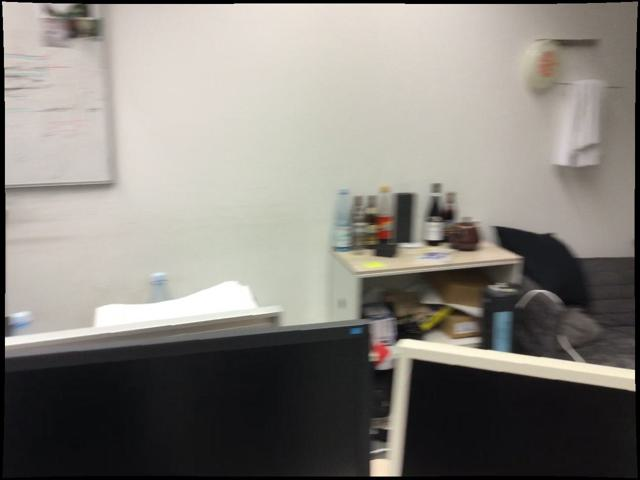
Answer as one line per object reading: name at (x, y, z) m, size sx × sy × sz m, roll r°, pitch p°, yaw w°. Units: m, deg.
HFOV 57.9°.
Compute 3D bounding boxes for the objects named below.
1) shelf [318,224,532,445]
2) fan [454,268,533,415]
shelf at (0.470, 0.410, 2.760) m, size 0.849 × 0.821 × 0.470 m, roll -5°, pitch 15°, yaw -14°
fan at (0.759, 0.440, 2.580) m, size 0.170 × 0.551 × 0.320 m, roll -5°, pitch 15°, yaw -14°
